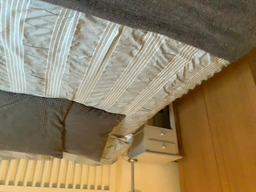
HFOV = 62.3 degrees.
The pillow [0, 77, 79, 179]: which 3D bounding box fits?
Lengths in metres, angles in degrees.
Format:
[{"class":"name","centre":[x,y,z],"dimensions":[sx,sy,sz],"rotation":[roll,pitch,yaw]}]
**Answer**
[{"class":"pillow","centre":[-0.650,0.190,1.380],"dimensions":[0.440,0.450,0.200],"rotation":[40,180,-8]}]

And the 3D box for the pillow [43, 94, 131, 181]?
[{"class":"pillow","centre":[-0.290,0.300,1.550],"dimensions":[0.390,0.460,0.160],"rotation":[42,-178,-15]}]
